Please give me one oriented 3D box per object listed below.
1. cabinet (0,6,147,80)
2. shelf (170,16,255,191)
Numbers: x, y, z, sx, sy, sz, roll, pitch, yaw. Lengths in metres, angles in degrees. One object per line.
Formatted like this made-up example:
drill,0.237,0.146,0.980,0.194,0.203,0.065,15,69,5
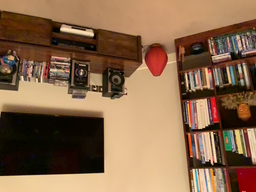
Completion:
cabinet,-0.620,-0.530,2.450,1.530,0.360,0.620,4,162,-21
shelf,1.230,0.100,2.220,1.360,1.810,0.340,-9,162,22
